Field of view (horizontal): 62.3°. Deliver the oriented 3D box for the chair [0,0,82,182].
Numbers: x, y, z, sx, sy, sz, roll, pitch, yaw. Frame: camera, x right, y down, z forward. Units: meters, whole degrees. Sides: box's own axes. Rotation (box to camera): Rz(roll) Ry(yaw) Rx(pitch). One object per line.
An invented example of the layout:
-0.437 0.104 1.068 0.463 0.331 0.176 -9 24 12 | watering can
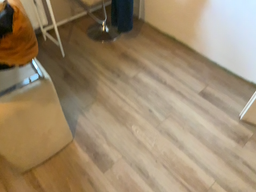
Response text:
-0.720 -0.100 1.190 0.470 0.900 0.720 -33 59 -26 | chair
